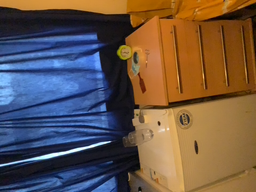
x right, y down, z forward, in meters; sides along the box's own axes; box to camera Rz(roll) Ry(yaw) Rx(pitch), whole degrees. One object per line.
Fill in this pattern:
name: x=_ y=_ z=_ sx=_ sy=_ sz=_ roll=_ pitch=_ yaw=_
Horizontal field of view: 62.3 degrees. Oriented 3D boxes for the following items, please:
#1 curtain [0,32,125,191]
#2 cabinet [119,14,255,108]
curtain: x=-0.510 y=0.200 z=1.380 sx=0.080 sy=0.890 sz=1.210 roll=175 pitch=88 yaw=-68
cabinet: x=0.430 y=-0.230 z=1.560 sx=0.520 sy=0.810 sz=0.520 roll=175 pitch=88 yaw=-68
